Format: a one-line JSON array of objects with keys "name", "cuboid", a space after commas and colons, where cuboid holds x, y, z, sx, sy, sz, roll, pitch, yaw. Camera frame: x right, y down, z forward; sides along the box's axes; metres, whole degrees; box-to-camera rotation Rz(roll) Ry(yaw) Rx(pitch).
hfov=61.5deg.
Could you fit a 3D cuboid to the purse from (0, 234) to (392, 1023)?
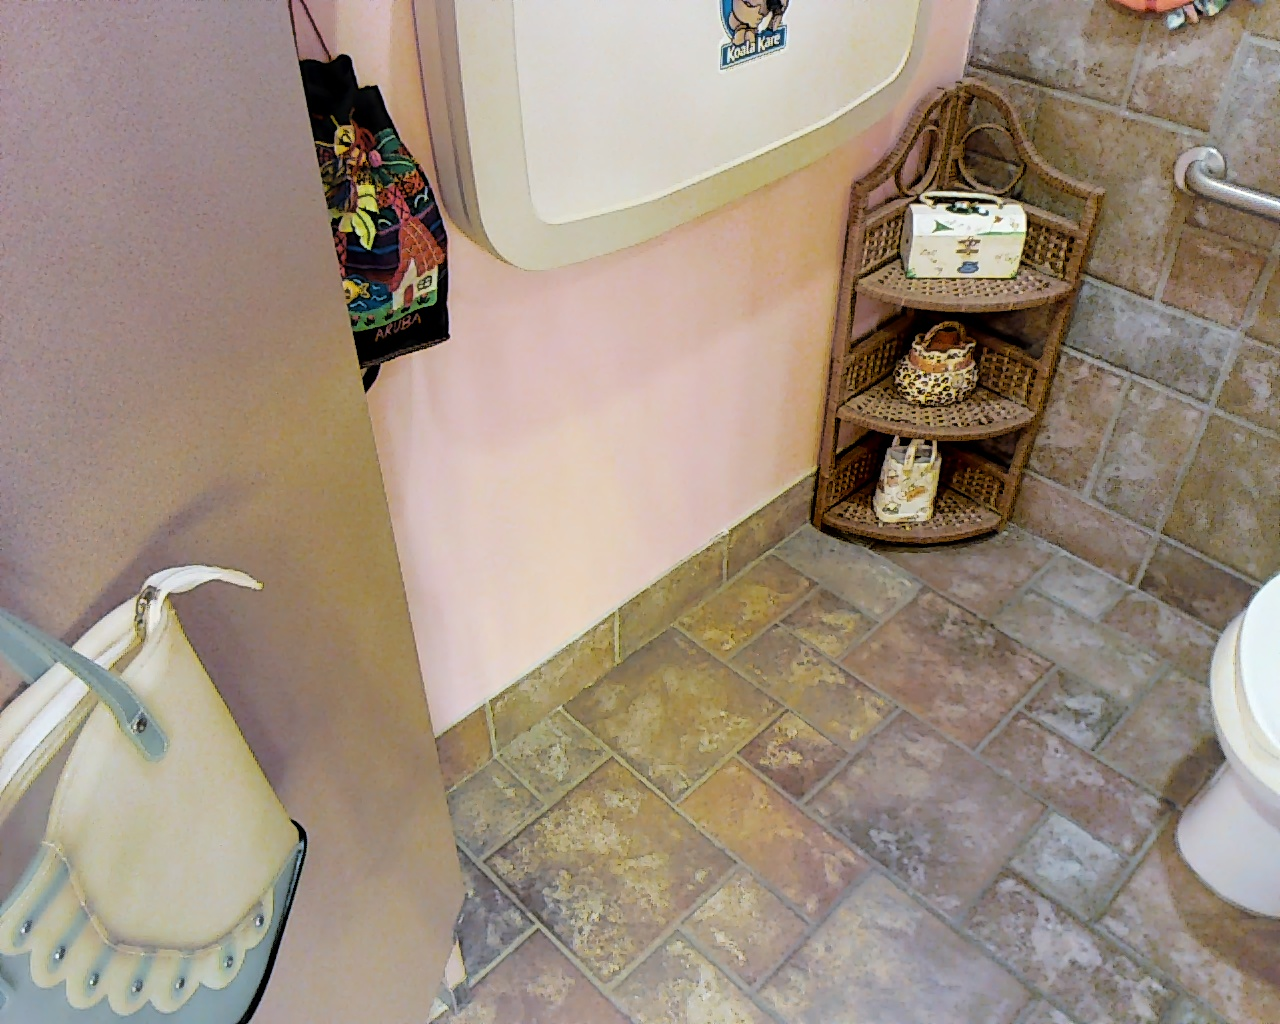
[{"name": "purse", "cuboid": [-0.270, 0.140, 0.520, 0.110, 0.430, 0.310, 12, 42, 12]}]
